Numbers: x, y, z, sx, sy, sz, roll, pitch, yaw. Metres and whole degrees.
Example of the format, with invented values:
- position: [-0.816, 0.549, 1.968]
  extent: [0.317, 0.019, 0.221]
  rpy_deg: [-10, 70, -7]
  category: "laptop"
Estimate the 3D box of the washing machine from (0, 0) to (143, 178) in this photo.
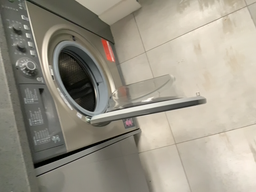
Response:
- position: [-0.440, 0.000, 1.090]
  extent: [0.620, 0.890, 0.610]
  rpy_deg: [-21, 82, 22]
  category: "washing machine"
